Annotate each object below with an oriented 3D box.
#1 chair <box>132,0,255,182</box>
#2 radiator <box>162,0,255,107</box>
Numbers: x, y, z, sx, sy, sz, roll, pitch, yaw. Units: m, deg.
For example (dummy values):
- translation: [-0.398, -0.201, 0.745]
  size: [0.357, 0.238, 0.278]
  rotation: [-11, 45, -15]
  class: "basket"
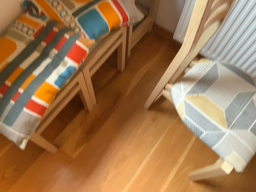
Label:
- translation: [0.370, -0.020, 0.850]
  size: [0.490, 0.920, 0.440]
  rotation: [33, 68, 12]
  class: "chair"
- translation: [0.560, -0.320, 1.110]
  size: [0.670, 0.700, 0.140]
  rotation: [36, 69, 13]
  class: "radiator"
